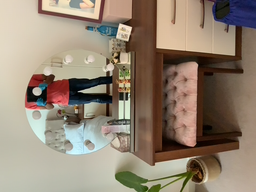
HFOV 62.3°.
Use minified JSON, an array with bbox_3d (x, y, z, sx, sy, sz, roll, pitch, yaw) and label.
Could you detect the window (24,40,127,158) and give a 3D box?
[{"bbox_3d":[-0.380,0.020,1.650,0.120,0.760,0.800,-174,84,-65],"label":"window"}]
